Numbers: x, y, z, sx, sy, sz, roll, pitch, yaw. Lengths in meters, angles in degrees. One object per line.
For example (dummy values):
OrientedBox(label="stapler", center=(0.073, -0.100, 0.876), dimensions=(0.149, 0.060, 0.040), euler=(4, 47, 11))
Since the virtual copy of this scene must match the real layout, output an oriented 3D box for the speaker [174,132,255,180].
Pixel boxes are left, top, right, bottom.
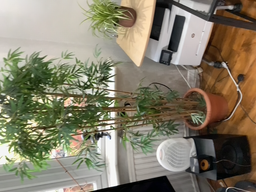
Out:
OrientedBox(label="speaker", center=(0.620, 0.430, 1.570), dimensions=(0.370, 0.370, 0.260), euler=(150, 116, -62))
